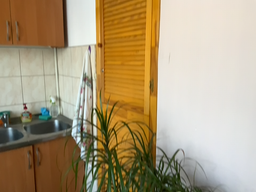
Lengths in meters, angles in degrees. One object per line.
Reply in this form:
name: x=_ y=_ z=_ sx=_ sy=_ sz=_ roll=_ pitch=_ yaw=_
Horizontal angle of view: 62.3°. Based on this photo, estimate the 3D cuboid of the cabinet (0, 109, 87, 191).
cabinet: x=-0.850 y=0.650 z=1.770 sx=0.800 sy=0.870 sz=0.600 roll=-8 pitch=13 yaw=-38

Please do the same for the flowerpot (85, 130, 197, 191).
flowerpot: x=0.050 y=0.730 z=1.030 sx=0.370 sy=1.010 sz=0.330 roll=-7 pitch=13 yaw=-36
